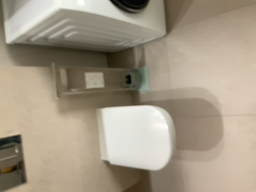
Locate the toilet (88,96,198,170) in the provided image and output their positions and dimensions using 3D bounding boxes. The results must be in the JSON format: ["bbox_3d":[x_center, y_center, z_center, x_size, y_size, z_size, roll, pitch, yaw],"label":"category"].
[{"bbox_3d":[0.100,0.210,1.420,0.550,0.440,0.340,-6,91,39],"label":"toilet"}]
